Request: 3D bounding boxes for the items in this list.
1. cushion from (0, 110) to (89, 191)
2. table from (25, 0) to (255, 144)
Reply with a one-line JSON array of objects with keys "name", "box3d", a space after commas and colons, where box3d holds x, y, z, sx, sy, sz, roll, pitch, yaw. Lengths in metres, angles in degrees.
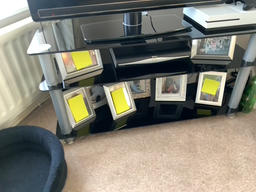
[{"name": "cushion", "box3d": [-0.440, 0.290, 0.830, 0.400, 0.170, 0.440, 9, 38, 13]}, {"name": "table", "box3d": [0.090, -0.190, 1.150, 0.980, 0.570, 0.470, -8, 37, -8]}]
